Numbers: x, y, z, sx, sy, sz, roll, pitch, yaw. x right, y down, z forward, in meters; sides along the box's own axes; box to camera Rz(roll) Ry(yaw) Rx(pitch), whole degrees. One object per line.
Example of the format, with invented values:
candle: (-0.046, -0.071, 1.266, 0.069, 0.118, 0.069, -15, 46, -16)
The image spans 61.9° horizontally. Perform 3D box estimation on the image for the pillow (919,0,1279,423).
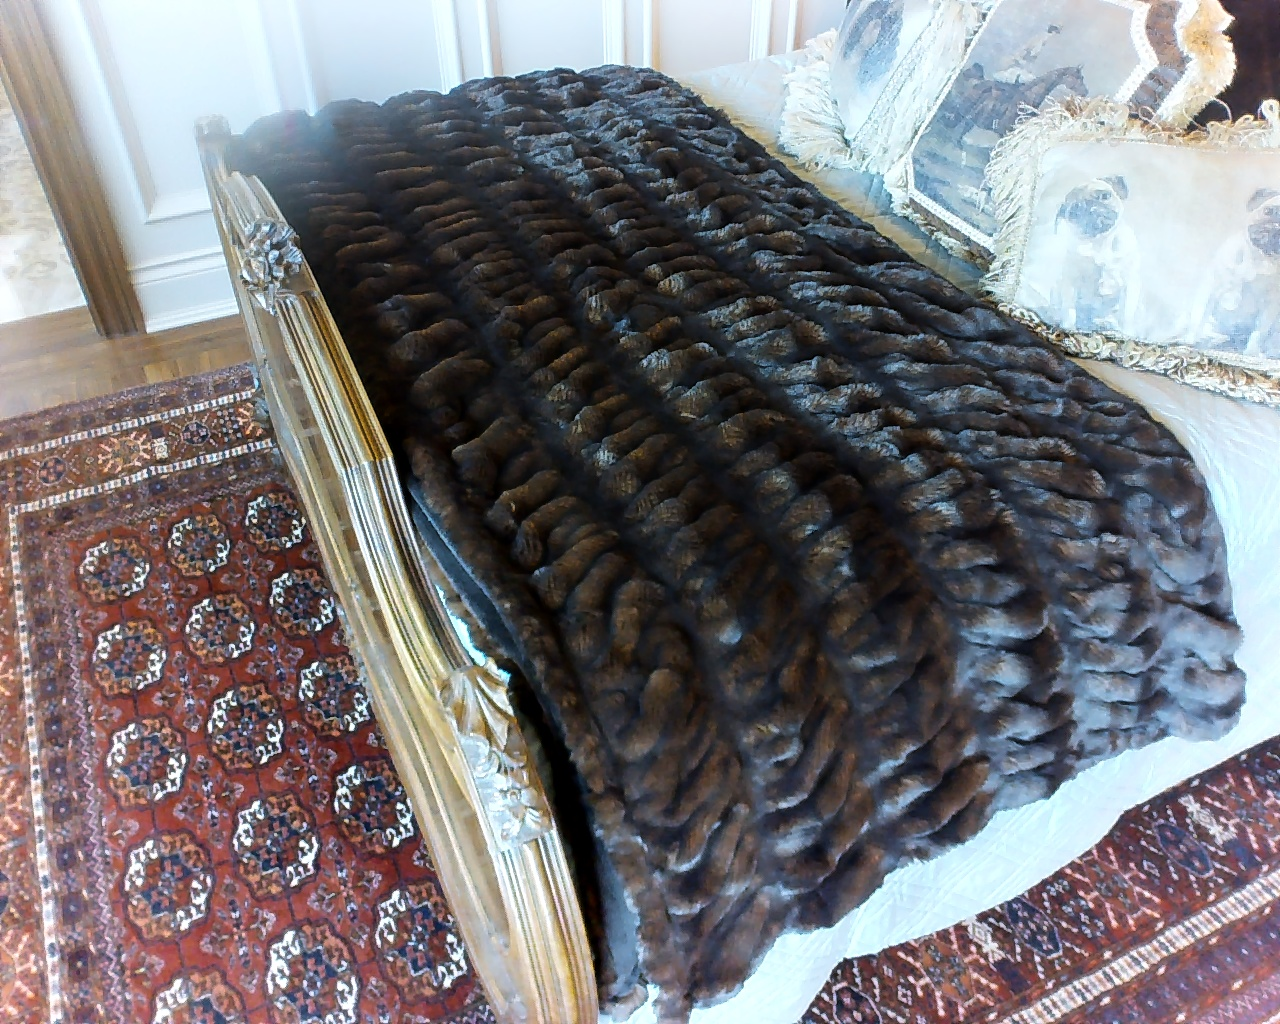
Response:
pillow: (0.640, -0.350, 1.270, 0.510, 0.390, 0.150, -8, 10, 36)

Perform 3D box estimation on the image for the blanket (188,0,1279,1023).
blanket: (-0.050, -0.270, 1.480, 0.820, 0.350, 1.650, -17, 45, -18)

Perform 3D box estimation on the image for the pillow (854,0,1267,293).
pillow: (0.530, -0.570, 1.430, 0.170, 0.450, 0.470, -17, 8, -18)
